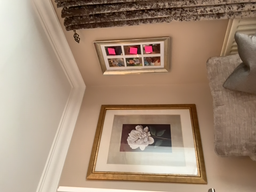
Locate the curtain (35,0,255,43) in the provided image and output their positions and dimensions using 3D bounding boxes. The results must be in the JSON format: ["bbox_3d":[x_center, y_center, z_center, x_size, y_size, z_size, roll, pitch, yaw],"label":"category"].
[{"bbox_3d":[0.390,-0.700,1.660,0.430,2.200,0.130,79,-167,-48],"label":"curtain"}]

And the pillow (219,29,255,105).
[{"bbox_3d":[0.910,-0.190,1.470,0.230,0.420,0.440,-49,-34,-51],"label":"pillow"}]
